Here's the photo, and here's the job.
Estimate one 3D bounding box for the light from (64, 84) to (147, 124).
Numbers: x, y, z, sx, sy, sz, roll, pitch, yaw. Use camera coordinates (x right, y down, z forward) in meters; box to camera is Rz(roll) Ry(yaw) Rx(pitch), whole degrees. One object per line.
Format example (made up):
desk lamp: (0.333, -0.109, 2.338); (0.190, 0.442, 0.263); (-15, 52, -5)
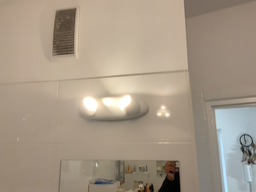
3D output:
light: (-0.090, 0.040, 0.880); (0.320, 0.130, 0.100); (-4, -14, 13)
